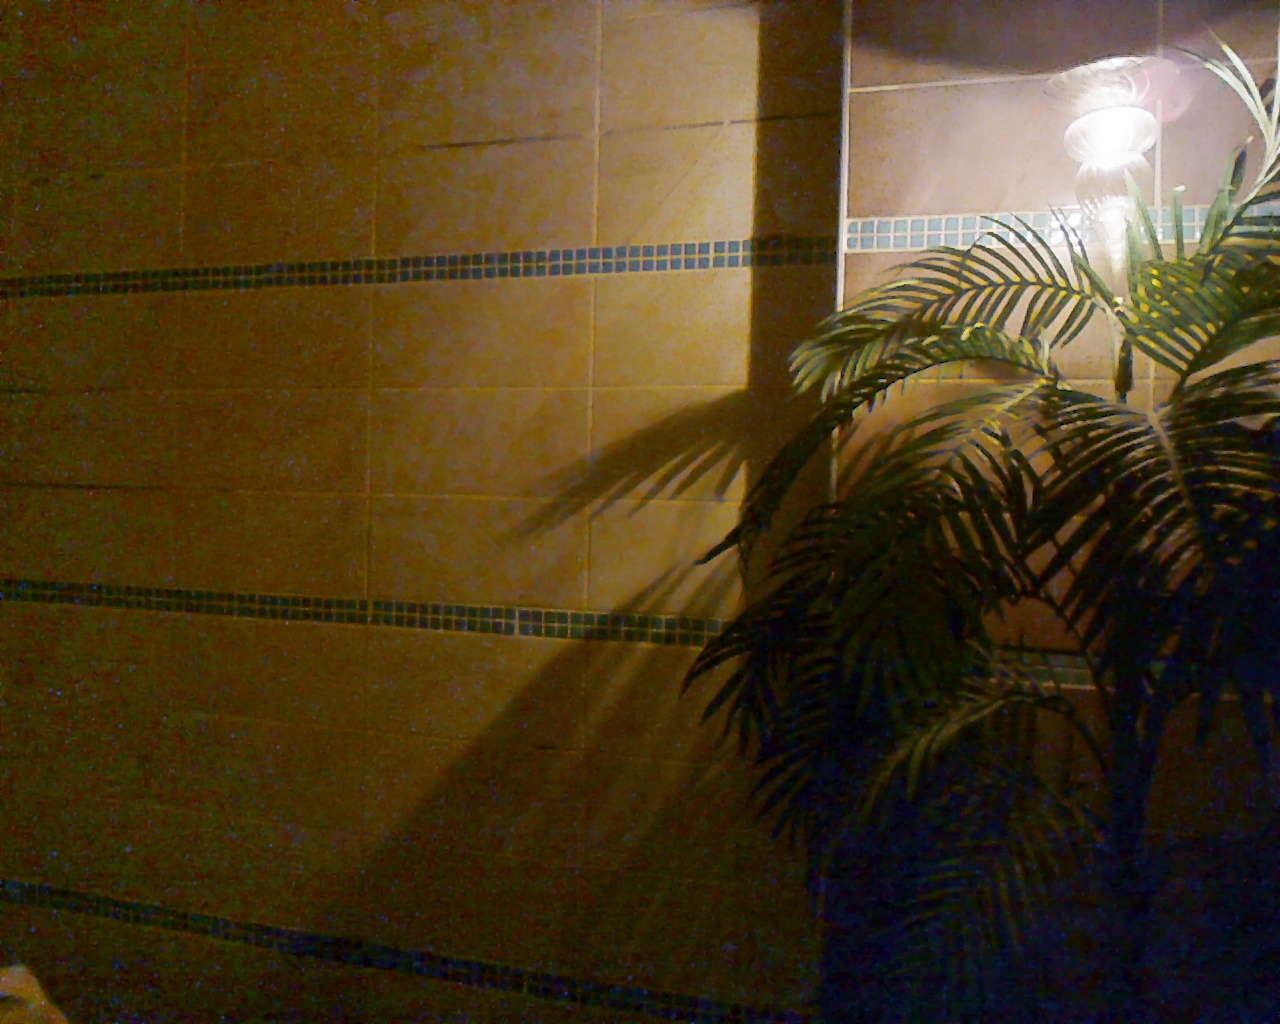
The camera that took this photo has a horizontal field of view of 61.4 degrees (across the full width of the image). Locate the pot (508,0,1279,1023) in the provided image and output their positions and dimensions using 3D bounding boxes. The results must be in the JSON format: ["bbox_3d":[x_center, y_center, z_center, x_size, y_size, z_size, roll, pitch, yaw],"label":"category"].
[{"bbox_3d":[0.460,0.470,1.240,0.930,2.200,0.860,2,1,19],"label":"pot"}]
